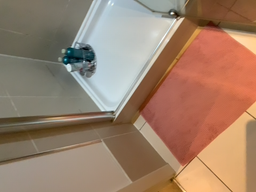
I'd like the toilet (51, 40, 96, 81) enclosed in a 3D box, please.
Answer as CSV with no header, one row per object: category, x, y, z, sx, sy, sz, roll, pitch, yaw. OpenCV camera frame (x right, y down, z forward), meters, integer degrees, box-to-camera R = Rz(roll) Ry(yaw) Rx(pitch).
toilet,-0.430,-0.270,1.680,0.230,0.220,0.230,-17,79,36
